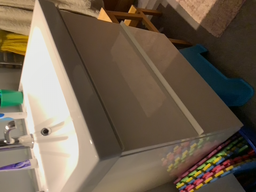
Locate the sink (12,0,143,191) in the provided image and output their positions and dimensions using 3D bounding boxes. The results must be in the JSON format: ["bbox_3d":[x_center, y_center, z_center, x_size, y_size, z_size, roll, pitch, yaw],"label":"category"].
[{"bbox_3d":[-0.260,0.040,0.740,0.490,0.120,0.630,-57,50,36],"label":"sink"}]
